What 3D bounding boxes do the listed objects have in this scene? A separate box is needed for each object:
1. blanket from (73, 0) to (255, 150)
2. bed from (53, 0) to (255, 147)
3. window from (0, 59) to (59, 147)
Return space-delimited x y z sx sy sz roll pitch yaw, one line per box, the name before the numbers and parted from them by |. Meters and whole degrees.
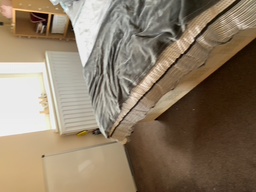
blanket | 0.020 -0.270 1.410 1.550 0.300 0.750 -51 51 50
bed | -0.060 -0.820 1.700 1.590 0.600 1.990 -46 55 52
window | -1.790 0.080 2.200 0.200 1.910 1.000 -48 54 51
